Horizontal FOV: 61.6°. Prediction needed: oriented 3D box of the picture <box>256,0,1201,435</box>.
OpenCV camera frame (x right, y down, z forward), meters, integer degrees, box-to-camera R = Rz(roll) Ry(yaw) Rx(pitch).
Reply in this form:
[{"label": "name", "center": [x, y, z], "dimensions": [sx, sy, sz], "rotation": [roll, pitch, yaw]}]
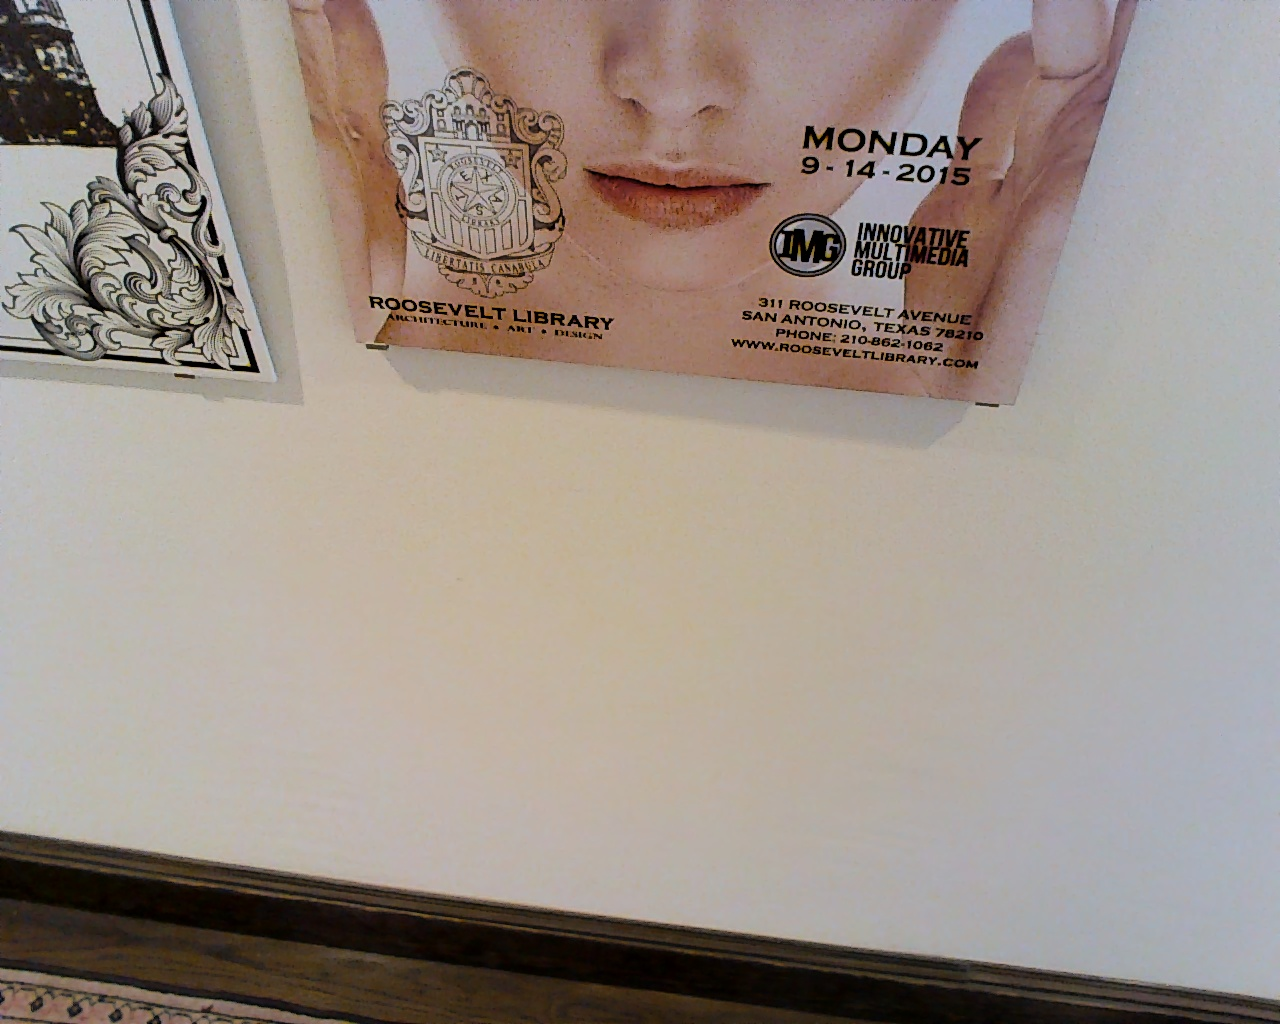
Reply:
[{"label": "picture", "center": [0.040, -0.390, 0.580], "dimensions": [0.560, 0.800, 0.030], "rotation": [5, 43, 5]}]
